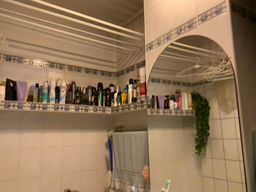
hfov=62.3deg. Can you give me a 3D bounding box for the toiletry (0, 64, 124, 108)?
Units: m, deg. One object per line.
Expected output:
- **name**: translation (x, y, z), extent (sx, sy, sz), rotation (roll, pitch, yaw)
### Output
- **toiletry**: translation (-0.540, -0.050, 1.650), extent (1.190, 0.200, 0.150), rotation (7, -13, -41)

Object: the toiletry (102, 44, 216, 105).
- **toiletry**: translation (0.150, -0.100, 1.560), extent (0.230, 0.220, 0.900), rotation (7, -12, -38)
